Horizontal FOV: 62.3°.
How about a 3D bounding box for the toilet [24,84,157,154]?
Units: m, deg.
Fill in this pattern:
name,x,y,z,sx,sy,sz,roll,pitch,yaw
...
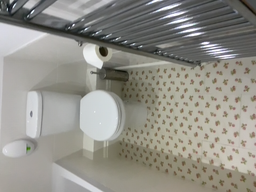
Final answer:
name,x,y,z,sx,sy,sz,roll,pitch,yaw
toilet,-0.280,0.140,1.630,0.650,0.770,0.370,-2,87,47
